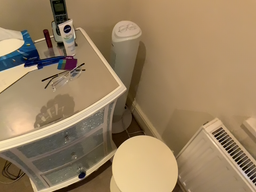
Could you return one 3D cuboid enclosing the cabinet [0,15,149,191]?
[{"bbox_3d":[-0.330,0.140,1.070,0.580,0.800,0.460,-23,62,-20],"label":"cabinet"}]
